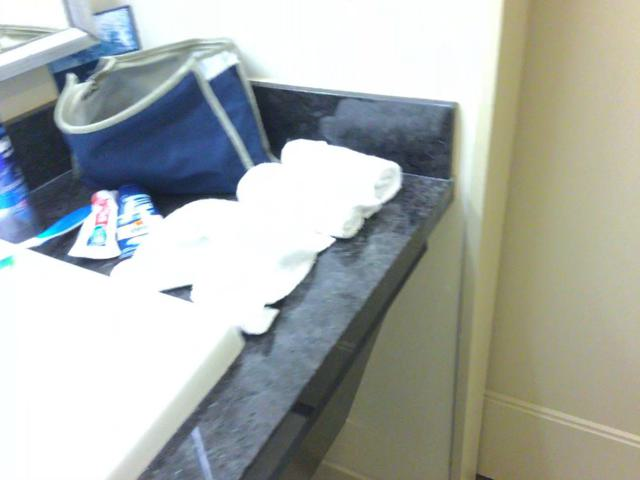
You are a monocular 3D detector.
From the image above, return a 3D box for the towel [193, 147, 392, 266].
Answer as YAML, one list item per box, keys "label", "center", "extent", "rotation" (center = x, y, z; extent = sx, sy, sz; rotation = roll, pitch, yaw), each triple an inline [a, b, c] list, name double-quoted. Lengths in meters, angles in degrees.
- label: "towel"
  center: [-0.030, -0.050, 0.710]
  extent: [0.190, 0.050, 0.150]
  rotation: [13, 37, 27]

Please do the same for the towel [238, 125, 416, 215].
- label: "towel"
  center: [0.010, -0.100, 0.780]
  extent: [0.210, 0.050, 0.110]
  rotation: [13, 37, 27]

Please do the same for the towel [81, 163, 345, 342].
- label: "towel"
  center: [-0.110, 0.000, 0.630]
  extent: [0.220, 0.080, 0.160]
  rotation: [13, 37, 27]
